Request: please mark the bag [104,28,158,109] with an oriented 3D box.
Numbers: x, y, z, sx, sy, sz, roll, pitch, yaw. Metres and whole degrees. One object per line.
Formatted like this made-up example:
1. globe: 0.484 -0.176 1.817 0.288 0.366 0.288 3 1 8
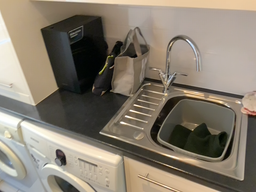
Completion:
1. bag: 0.030 -0.160 1.170 0.160 0.330 0.280 16 39 25
